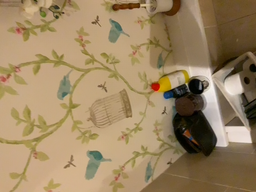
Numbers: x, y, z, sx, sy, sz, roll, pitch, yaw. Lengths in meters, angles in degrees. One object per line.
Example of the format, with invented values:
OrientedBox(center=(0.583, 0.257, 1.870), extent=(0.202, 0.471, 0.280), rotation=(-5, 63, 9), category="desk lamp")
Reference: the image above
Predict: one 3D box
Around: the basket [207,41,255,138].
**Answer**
OrientedBox(center=(0.710, -0.040, 1.160), extent=(0.440, 0.200, 0.260), rotation=(57, 137, 12), category="basket")
